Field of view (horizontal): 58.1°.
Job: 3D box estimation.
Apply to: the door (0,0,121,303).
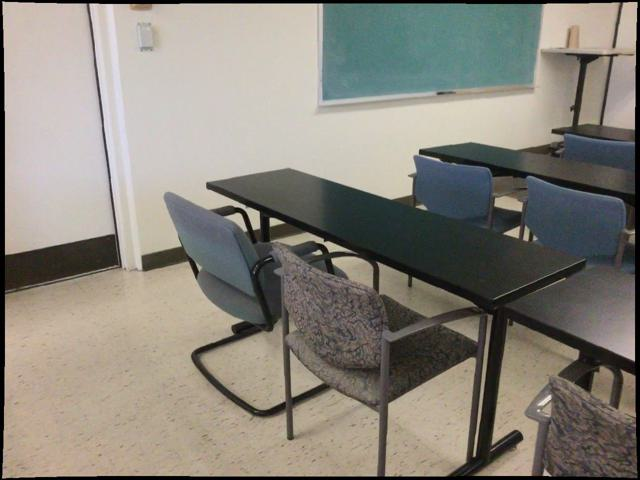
[{"bbox_3d":[-1.586,-0.822,2.840,0.869,2.345,0.120,-15,26,-34],"label":"door"}]
